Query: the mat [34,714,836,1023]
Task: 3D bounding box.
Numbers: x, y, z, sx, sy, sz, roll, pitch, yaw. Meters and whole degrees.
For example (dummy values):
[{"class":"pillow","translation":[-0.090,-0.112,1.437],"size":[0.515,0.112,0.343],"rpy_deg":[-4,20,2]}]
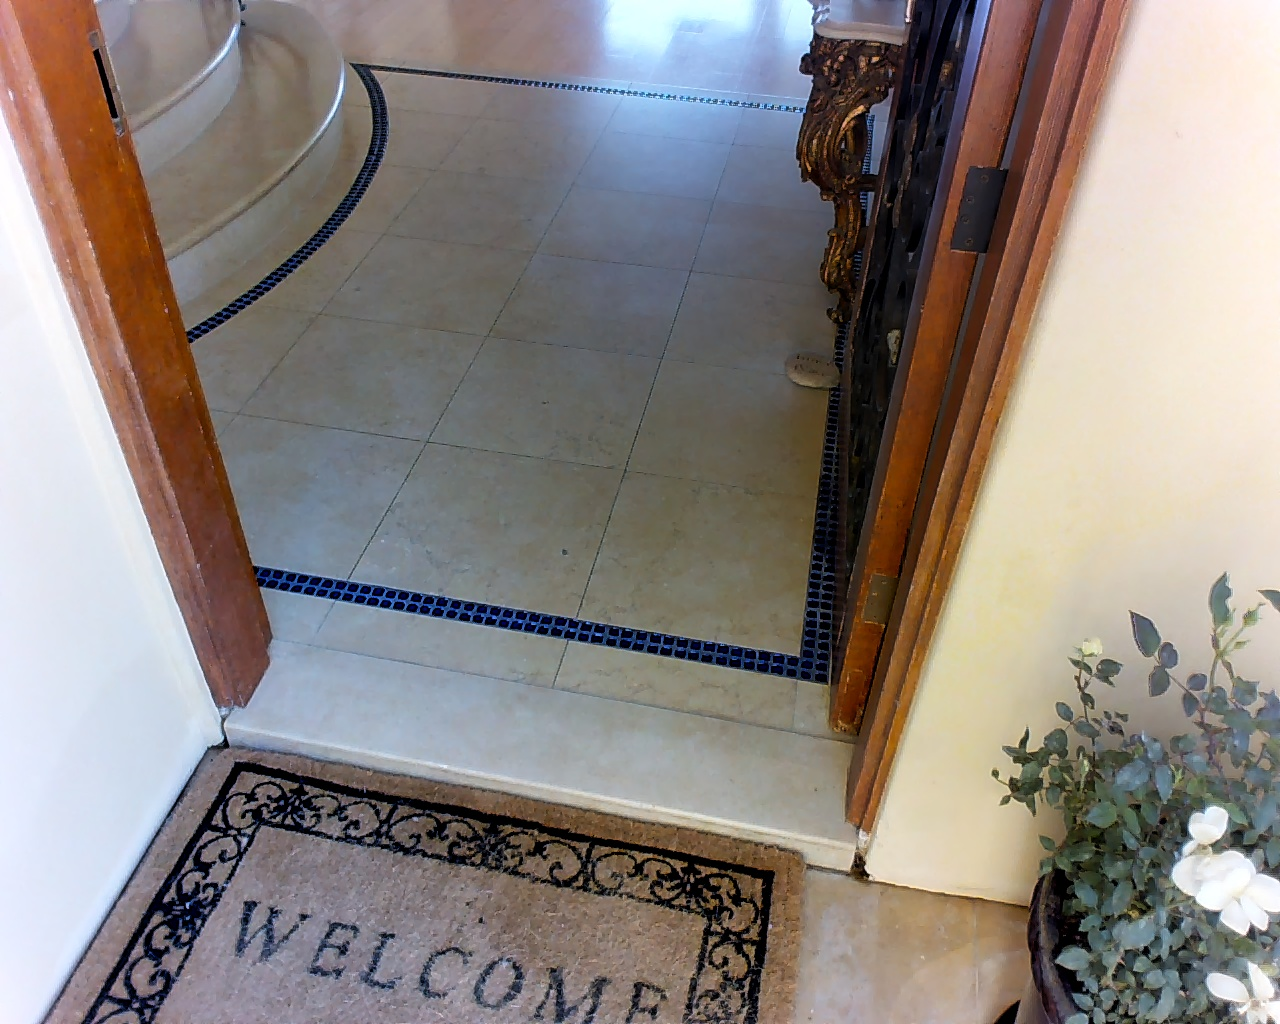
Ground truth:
[{"class":"mat","translation":[-0.280,0.690,1.600],"size":[1.080,0.050,0.700],"rpy_deg":[9,42,8]}]
